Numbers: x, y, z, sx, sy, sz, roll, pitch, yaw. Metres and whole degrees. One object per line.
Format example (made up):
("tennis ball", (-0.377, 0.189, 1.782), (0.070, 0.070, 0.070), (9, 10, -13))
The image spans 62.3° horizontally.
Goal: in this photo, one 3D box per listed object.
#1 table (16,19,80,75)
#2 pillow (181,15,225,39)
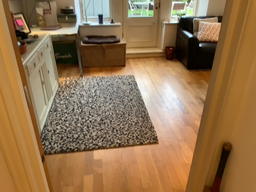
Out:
("table", (-1.360, -0.920, 3.860), (0.840, 0.760, 0.890), (-3, 29, -7))
("pillow", (1.410, -1.310, 4.040), (0.600, 0.240, 0.520), (-4, -5, -8))
